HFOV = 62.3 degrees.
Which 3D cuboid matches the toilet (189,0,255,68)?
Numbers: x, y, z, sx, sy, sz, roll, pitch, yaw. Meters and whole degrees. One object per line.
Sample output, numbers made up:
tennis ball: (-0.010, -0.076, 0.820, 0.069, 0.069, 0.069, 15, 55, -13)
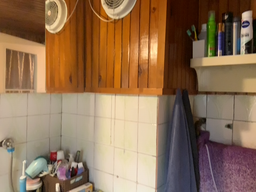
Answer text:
toilet: (0.520, -0.300, 1.070, 0.350, 0.280, 0.210, 3, 2, 33)
